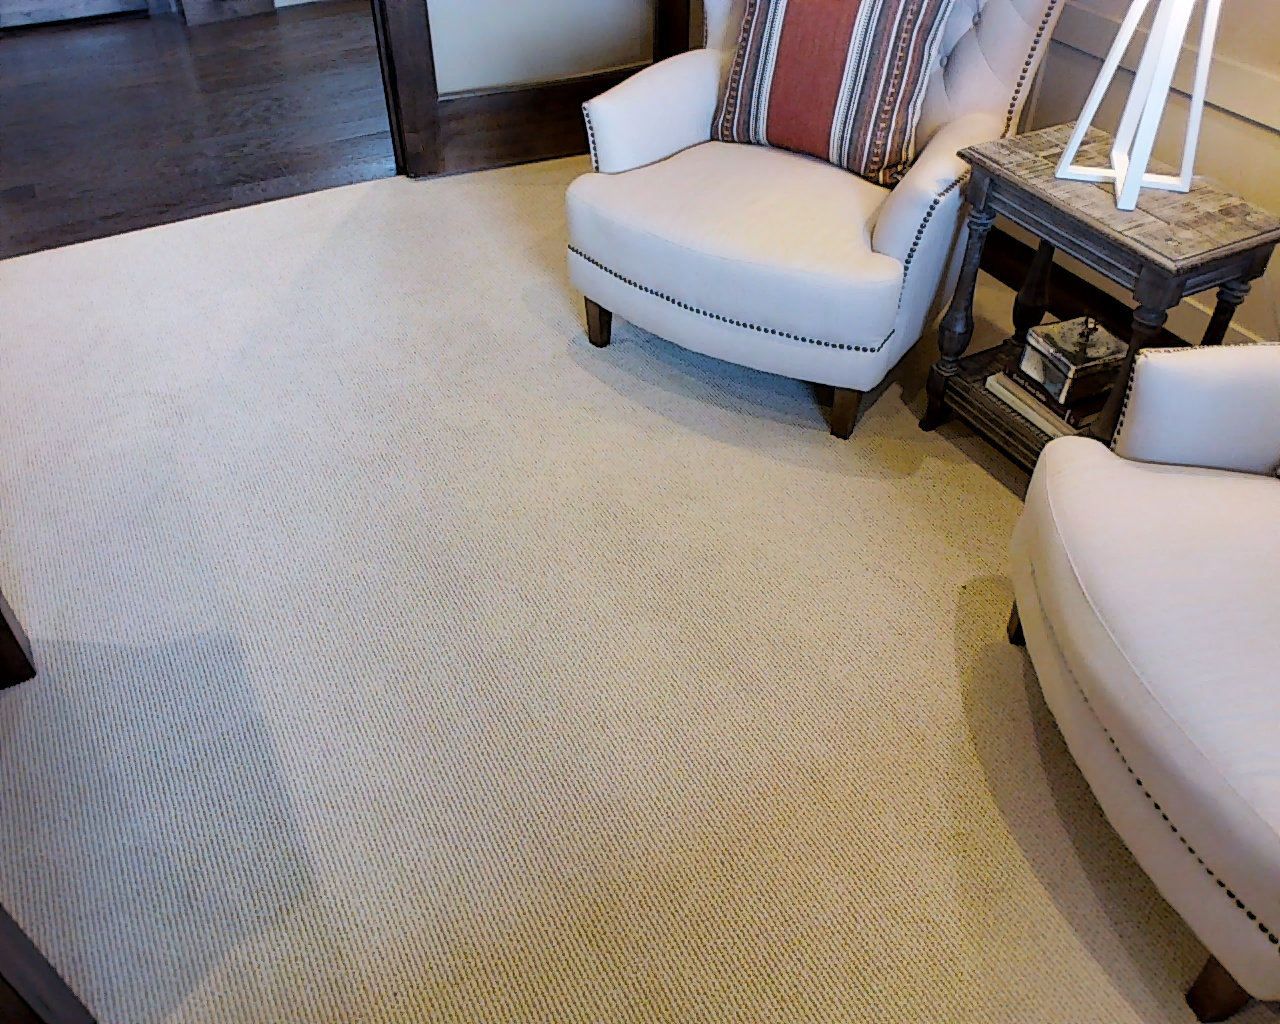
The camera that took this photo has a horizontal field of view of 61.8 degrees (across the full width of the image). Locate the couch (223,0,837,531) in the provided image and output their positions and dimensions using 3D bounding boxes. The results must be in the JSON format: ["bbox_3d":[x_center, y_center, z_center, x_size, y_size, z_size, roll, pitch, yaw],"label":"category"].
[{"bbox_3d":[-0.100,-0.680,2.140,0.890,0.990,0.900,7,42,8],"label":"couch"}]
